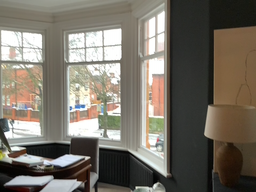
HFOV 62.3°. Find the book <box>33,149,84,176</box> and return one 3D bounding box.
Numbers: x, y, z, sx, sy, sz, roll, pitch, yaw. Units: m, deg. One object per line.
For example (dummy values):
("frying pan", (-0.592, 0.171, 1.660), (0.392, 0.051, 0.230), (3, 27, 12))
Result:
("book", (-0.680, 0.650, 2.110), (0.300, 0.100, 0.390), (1, 3, 24))

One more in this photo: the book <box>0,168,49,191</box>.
("book", (-0.880, 0.690, 1.690), (0.350, 0.090, 0.300), (1, 2, 20))
